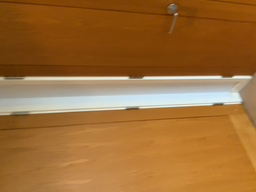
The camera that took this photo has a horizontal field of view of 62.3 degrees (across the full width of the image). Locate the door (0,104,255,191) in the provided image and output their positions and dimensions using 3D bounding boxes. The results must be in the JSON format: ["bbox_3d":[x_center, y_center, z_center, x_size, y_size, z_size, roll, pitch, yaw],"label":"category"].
[{"bbox_3d":[0.130,0.440,1.370,0.040,1.990,0.800,111,152,-53],"label":"door"}]
